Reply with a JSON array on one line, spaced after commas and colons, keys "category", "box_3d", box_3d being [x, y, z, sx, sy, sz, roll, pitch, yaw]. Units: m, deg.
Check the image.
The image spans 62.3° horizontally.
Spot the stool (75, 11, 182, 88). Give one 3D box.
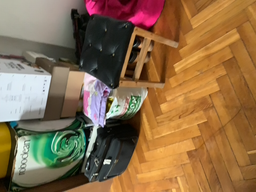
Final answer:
[{"category": "stool", "box_3d": [0.010, -0.260, 1.280, 0.330, 0.490, 0.310, 31, 111, 39]}]
